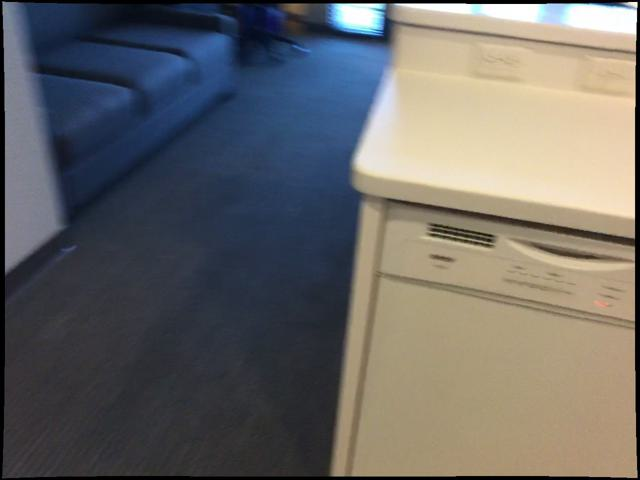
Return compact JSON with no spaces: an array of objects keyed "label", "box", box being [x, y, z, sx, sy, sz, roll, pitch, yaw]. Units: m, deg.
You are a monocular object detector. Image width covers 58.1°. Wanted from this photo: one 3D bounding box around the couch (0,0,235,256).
[{"label":"couch","box":[-1.227,-0.922,2.970,0.948,0.872,2.121,9,32,7]}]
